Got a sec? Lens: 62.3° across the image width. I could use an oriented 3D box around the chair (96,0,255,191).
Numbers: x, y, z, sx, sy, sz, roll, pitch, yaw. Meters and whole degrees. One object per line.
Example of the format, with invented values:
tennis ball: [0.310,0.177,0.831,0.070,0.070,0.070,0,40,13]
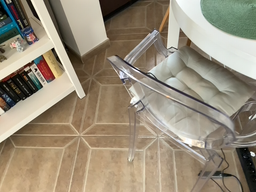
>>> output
chair: [0.240,0.040,0.970,0.480,0.800,0.390,-34,58,-18]
